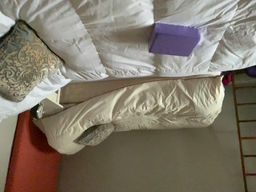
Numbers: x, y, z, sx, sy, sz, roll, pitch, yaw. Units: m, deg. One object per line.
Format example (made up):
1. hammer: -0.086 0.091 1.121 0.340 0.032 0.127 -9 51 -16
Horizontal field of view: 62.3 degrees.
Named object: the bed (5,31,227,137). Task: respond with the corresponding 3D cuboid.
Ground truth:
1. bed: -0.110 -0.010 2.430 2.010 0.760 0.950 -4 160 11
